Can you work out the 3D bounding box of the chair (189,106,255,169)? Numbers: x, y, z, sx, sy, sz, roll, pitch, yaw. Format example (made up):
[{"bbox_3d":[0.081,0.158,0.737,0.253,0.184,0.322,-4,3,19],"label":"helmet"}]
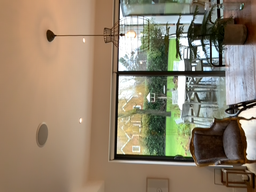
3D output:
[{"bbox_3d":[1.560,0.720,3.600,0.700,0.840,0.880,83,-171,-64],"label":"chair"}]

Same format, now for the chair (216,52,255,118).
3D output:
[{"bbox_3d":[1.440,-0.070,2.100,0.540,0.910,0.570,58,-147,-83],"label":"chair"}]

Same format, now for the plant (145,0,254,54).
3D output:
[{"bbox_3d":[0.660,-0.690,2.160,0.470,0.960,0.390,58,-147,-83],"label":"plant"}]
